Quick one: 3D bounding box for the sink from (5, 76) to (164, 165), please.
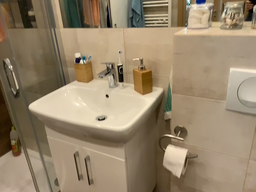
[{"bbox_3d":[-0.210,0.070,1.140,0.690,0.160,0.450,8,27,25],"label":"sink"}]
